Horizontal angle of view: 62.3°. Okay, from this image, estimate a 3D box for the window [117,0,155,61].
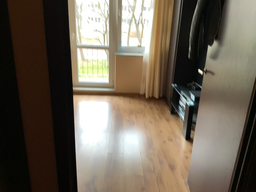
[{"bbox_3d":[0.150,-1.510,4.130,0.660,1.580,0.240,3,19,1],"label":"window"}]
